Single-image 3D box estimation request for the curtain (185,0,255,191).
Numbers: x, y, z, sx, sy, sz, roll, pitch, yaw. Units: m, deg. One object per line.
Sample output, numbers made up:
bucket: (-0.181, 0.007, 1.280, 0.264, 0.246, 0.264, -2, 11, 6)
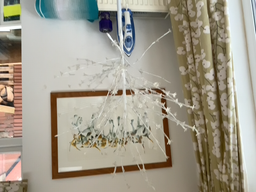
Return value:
curtain: (0.530, -0.260, 1.070, 0.210, 2.270, 0.450, -2, 174, -16)
